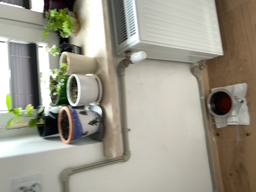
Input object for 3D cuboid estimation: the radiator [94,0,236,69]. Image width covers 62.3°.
[{"bbox_3d":[0.220,-0.510,1.110,0.240,0.770,0.640,-11,82,52],"label":"radiator"}]
